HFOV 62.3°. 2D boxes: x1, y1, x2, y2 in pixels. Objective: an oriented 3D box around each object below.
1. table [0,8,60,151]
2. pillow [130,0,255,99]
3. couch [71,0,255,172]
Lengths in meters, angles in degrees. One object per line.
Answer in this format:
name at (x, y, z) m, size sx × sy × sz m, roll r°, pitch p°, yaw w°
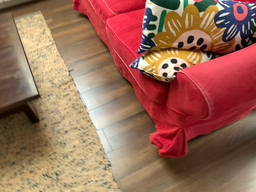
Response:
table at (-0.970, -0.060, 1.290) m, size 0.800 × 0.350 × 0.820 m, roll -23°, pitch 58°, yaw -15°
pillow at (0.340, -0.290, 0.980) m, size 0.610 × 0.380 × 0.380 m, roll -8°, pitch 55°, yaw -5°
couch at (0.260, -0.630, 1.410) m, size 0.930 × 0.820 × 1.760 m, roll -21°, pitch 57°, yaw -15°
